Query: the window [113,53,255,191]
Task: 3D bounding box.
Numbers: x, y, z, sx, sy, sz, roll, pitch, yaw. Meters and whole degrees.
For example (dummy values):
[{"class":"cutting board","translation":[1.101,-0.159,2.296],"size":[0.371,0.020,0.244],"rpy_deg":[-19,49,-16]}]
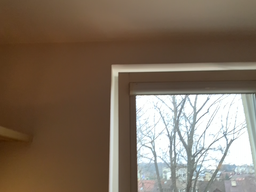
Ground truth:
[{"class":"window","translation":[0.360,0.540,0.970],"size":[0.850,1.580,0.120],"rpy_deg":[-1,-18,1]}]
